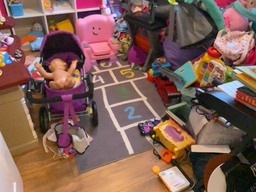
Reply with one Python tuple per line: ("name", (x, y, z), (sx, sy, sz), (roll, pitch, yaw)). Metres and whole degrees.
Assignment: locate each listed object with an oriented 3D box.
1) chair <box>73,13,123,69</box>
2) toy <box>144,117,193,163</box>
("chair", (-0.320, -0.600, 2.280), (0.420, 0.440, 0.360), (-13, 41, -20))
("toy", (0.270, 0.290, 1.460), (0.200, 0.080, 0.280), (-16, 42, -24))
